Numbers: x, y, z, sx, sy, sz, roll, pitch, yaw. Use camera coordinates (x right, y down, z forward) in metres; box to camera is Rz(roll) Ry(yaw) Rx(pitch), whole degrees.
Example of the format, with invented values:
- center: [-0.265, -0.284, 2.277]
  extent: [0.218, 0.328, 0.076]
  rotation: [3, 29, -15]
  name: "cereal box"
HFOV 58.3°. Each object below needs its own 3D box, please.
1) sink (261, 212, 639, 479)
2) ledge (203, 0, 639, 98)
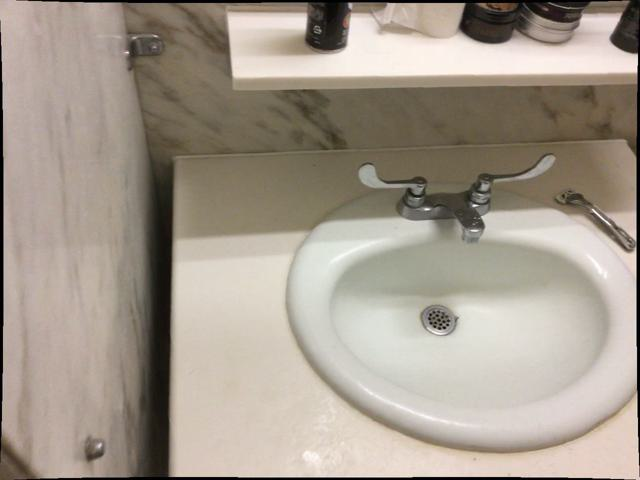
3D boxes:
- center: [0.180, 0.150, 0.810]
  extent: [0.490, 0.150, 0.340]
  rotation: [-4, 49, -10]
  name: "sink"
- center: [0.180, -0.280, 0.780]
  extent: [0.659, 0.060, 0.180]
  rotation: [-4, 49, -10]
  name: "ledge"
